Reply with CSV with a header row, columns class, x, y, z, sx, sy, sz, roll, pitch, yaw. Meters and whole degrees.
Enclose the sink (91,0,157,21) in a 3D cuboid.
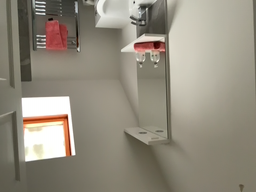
class,x,y,z,sx,sy,sz,roll,pitch,yaw
sink,-0.040,-0.770,1.660,0.400,0.150,0.600,-3,-178,-18
